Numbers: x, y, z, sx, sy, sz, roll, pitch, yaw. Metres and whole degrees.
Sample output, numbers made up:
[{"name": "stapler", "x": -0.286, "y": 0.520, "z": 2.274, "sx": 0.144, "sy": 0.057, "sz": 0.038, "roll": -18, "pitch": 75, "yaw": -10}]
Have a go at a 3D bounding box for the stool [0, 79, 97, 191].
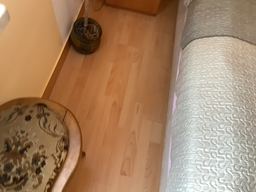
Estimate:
[{"name": "stool", "x": -0.370, "y": 0.300, "z": 0.850, "sx": 0.330, "sy": 0.470, "sz": 0.490, "roll": 18, "pitch": 62, "yaw": 0}]
